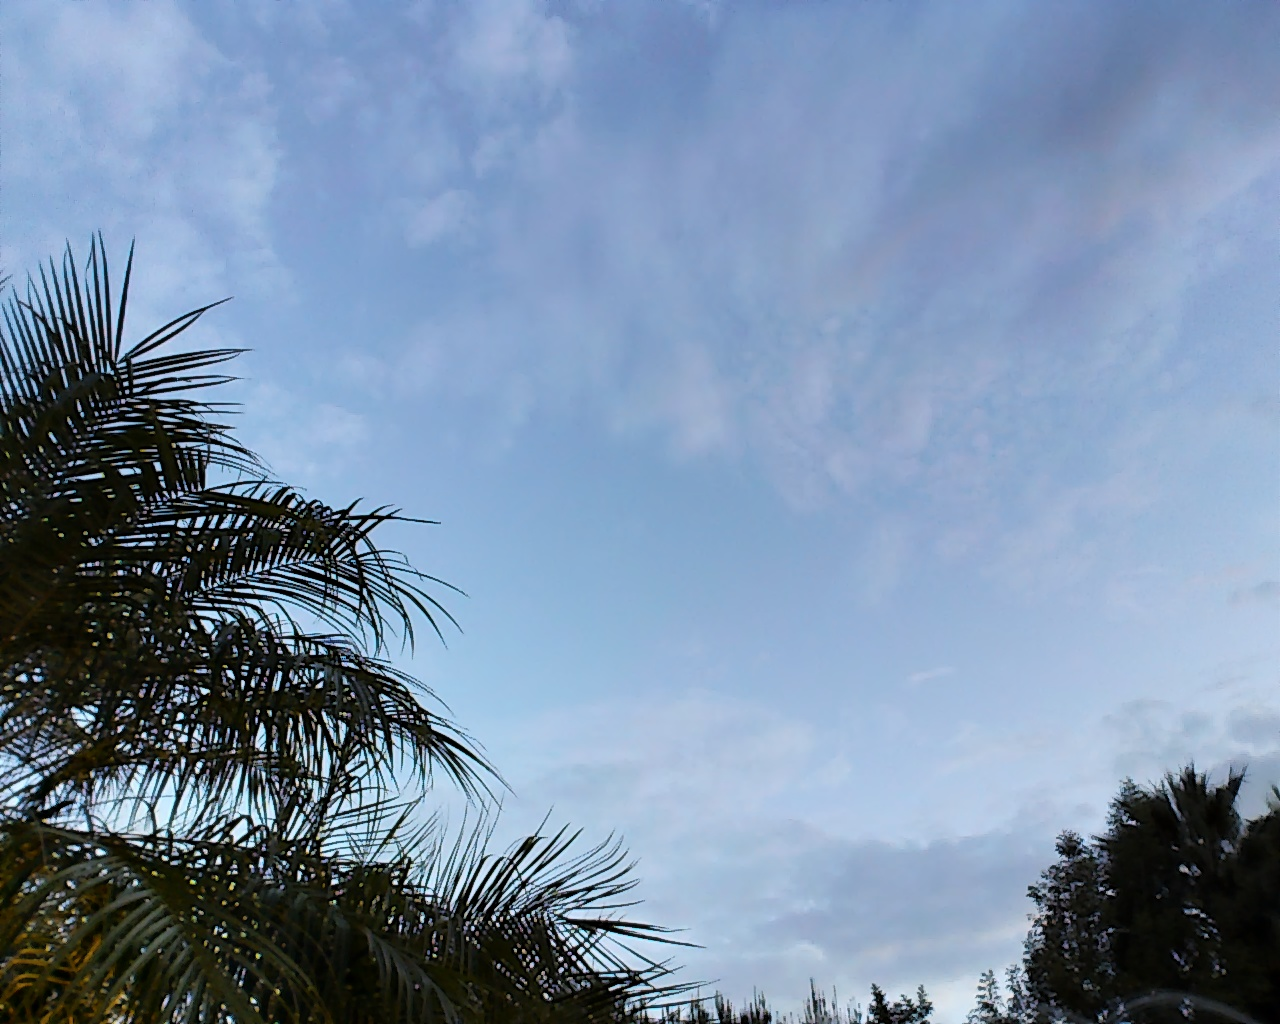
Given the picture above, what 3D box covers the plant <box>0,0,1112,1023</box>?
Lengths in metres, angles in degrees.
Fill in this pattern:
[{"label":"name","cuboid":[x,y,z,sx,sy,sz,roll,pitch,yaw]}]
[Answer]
[{"label":"plant","cuboid":[-0.980,1.260,2.150,2.270,2.820,2.900,19,-45,-19]}]
